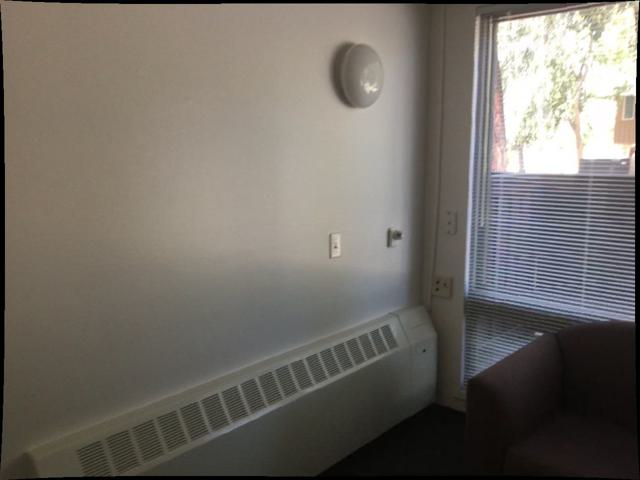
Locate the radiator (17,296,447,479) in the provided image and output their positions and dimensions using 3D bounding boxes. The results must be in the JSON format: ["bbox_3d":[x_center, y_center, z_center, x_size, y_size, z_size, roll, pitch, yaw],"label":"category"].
[{"bbox_3d":[-0.100,0.791,2.440,0.170,0.641,2.108,9,15,42],"label":"radiator"}]
